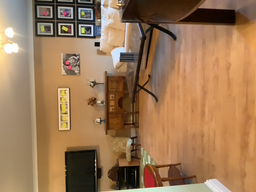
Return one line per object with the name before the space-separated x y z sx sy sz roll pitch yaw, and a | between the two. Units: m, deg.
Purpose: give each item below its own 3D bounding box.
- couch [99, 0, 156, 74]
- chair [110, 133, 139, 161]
couch | -0.070 -1.630 3.970 1.060 0.850 2.170 -103 16 -50
chair | -0.110 1.200 5.110 0.630 0.600 0.460 -164 74 -79
